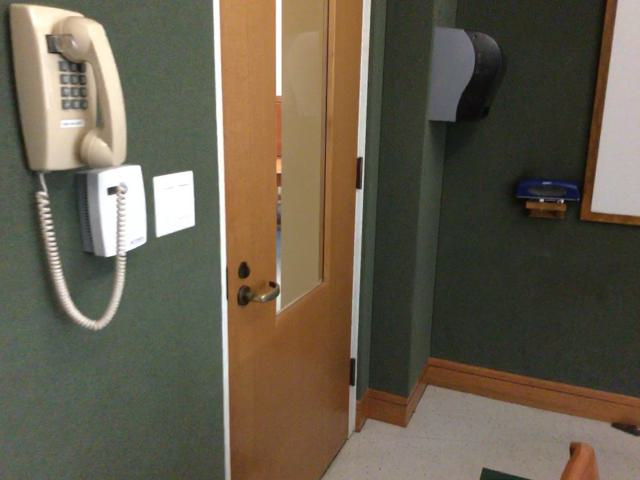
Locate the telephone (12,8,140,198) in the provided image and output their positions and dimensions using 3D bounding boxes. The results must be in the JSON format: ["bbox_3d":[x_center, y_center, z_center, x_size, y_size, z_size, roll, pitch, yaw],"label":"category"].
[{"bbox_3d":[-0.340,-0.190,0.820,0.100,0.240,0.110,6,14,23],"label":"telephone"}]
